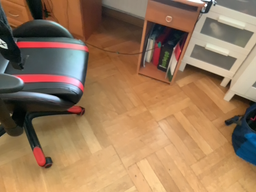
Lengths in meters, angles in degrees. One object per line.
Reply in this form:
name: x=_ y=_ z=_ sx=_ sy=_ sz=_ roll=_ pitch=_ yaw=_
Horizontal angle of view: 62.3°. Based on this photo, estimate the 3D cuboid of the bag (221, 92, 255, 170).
bag: x=0.820 y=0.230 z=1.390 sx=0.270 sy=0.220 sz=0.390 roll=23 pitch=54 yaw=10
